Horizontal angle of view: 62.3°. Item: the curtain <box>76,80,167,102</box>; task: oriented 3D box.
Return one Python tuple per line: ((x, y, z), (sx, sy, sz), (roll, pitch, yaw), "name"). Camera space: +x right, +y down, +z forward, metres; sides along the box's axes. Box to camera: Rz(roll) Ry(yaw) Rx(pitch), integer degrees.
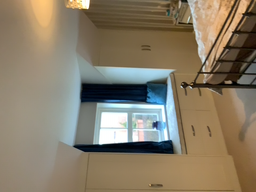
((-0.110, -0.090, 4.180), (0.170, 1.750, 0.380), (135, 137, -85), "curtain")
